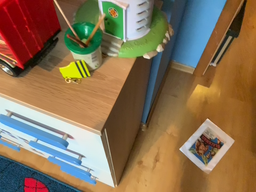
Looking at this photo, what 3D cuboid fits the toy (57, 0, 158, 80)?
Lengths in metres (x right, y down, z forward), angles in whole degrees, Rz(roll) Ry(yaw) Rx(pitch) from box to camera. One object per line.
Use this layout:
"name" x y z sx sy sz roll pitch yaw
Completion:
"toy" -0.020 -0.230 0.370 0.120 0.370 0.210 21 62 10
